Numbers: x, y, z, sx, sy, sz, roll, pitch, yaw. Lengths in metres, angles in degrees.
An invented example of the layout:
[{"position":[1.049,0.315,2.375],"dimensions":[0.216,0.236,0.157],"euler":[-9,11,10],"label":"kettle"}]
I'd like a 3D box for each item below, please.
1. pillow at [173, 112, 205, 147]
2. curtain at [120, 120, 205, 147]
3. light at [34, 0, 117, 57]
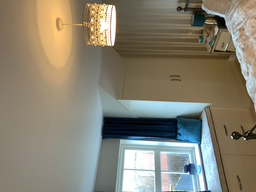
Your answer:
[{"position":[1.010,0.560,3.560],"dimensions":[0.200,0.430,0.510],"euler":[-80,-8,-77],"label":"pillow"},{"position":[0.570,0.650,3.690],"dimensions":[0.250,1.390,0.330],"euler":[90,-177,-54],"label":"curtain"},{"position":[-0.330,-0.510,1.490],"dimensions":[0.320,0.450,0.300],"euler":[90,-174,-52],"label":"light"}]
